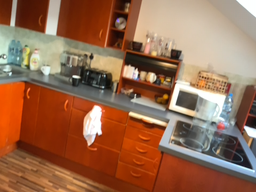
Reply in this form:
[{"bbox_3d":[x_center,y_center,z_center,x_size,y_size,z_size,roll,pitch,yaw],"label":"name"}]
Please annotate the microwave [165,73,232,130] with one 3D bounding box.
[{"bbox_3d":[0.710,0.030,2.220,0.520,0.400,0.420,15,13,13],"label":"microwave"}]
